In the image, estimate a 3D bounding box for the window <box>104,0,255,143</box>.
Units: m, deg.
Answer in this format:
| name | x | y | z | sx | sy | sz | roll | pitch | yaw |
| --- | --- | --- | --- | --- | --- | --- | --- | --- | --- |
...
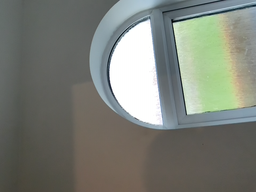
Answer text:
| name | x | y | z | sx | sy | sz | roll | pitch | yaw |
| --- | --- | --- | --- | --- | --- | --- | --- | --- | --- |
| window | 0.350 | -0.130 | 1.030 | 0.100 | 0.920 | 0.610 | 52 | -149 | -69 |
